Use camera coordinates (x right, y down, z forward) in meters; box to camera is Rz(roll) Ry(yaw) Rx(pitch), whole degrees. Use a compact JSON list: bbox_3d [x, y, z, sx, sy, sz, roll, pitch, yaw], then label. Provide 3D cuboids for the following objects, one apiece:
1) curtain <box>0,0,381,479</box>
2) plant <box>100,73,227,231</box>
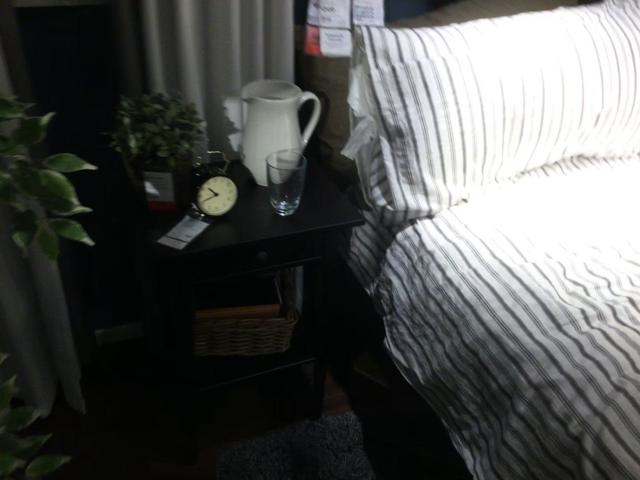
[{"bbox_3d":[-0.420,-0.310,1.240,1.020,1.700,0.390,-15,37,-13],"label":"curtain"},{"bbox_3d":[-0.330,-0.190,1.220,0.190,0.230,0.210,-15,37,-13],"label":"plant"}]
